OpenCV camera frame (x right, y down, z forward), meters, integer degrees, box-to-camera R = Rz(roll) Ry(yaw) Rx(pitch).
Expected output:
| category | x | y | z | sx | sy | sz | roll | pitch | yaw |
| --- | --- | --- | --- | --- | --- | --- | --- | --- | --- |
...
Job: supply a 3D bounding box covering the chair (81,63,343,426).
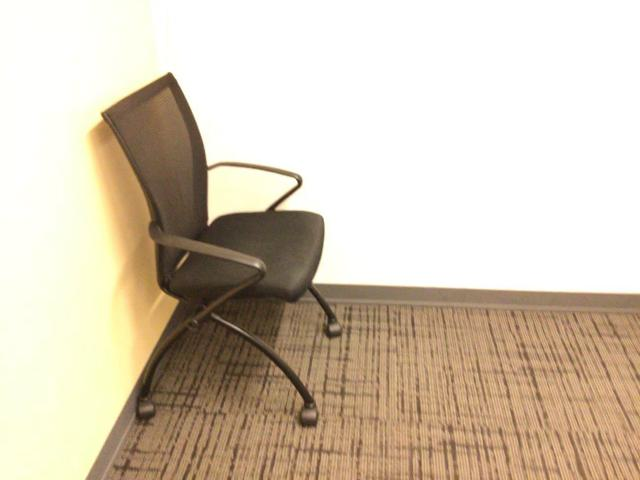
| category | x | y | z | sx | sy | sz | roll | pitch | yaw |
| --- | --- | --- | --- | --- | --- | --- | --- | --- | --- |
| chair | -0.230 | 0.010 | 1.740 | 0.480 | 0.910 | 0.570 | -2 | 28 | 8 |
